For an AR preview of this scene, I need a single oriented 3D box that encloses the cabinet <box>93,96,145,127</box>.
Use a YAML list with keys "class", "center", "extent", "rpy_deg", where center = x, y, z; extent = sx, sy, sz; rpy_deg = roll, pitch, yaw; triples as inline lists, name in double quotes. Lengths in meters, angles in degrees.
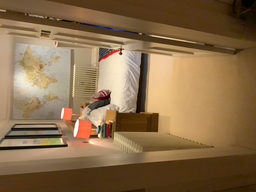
- class: "cabinet"
  center: [-0.160, 0.240, 3.450]
  extent: [0.460, 0.720, 0.450]
  rpy_deg: [180, 92, -67]
